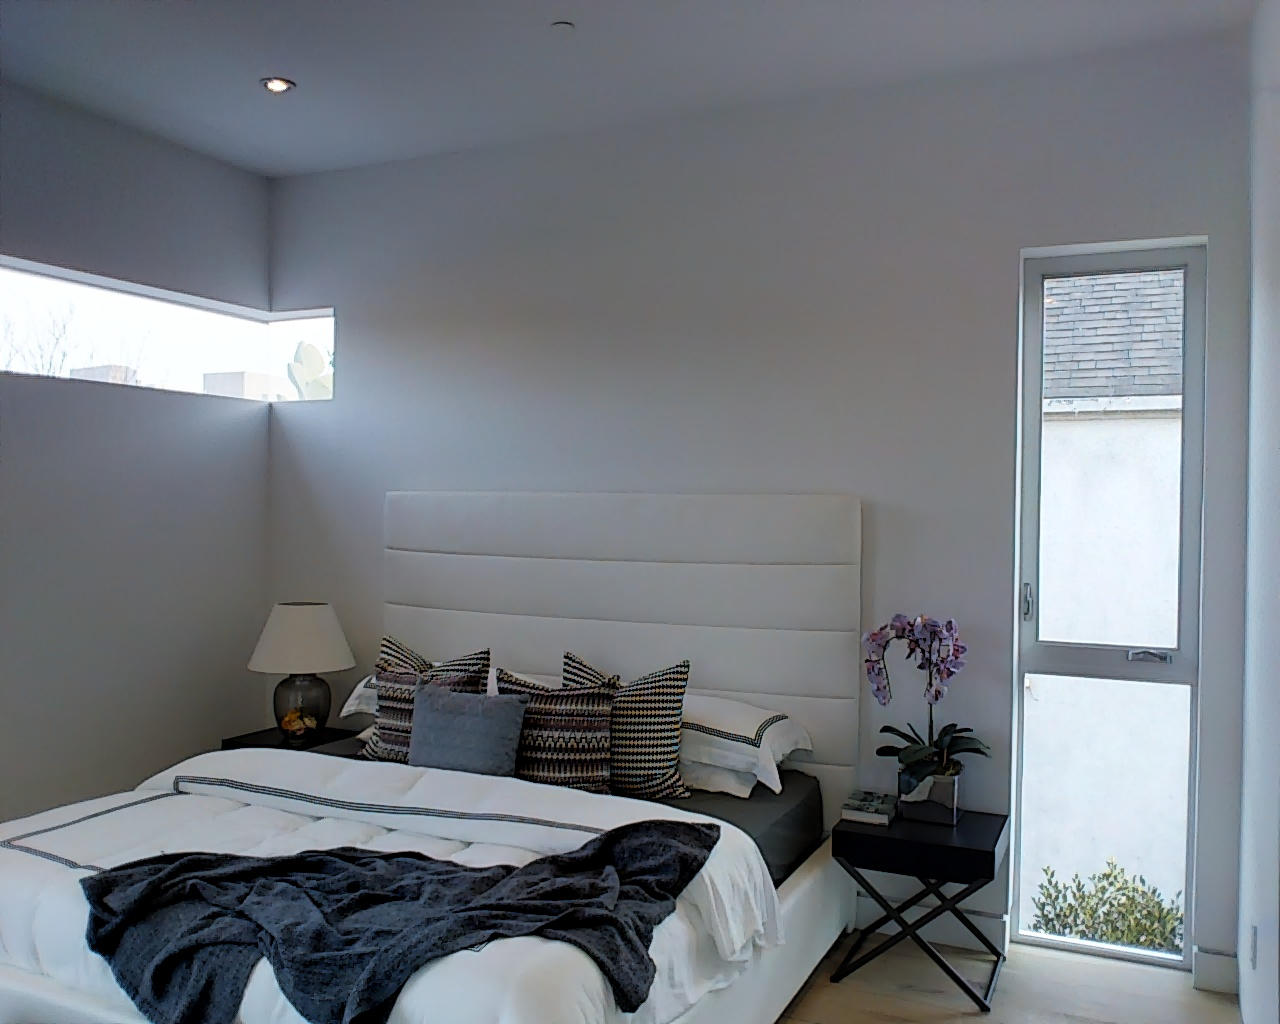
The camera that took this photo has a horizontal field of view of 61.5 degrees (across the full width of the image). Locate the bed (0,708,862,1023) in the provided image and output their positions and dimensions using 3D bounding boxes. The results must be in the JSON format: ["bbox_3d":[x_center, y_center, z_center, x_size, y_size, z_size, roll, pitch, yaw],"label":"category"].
[{"bbox_3d":[-0.640,1.211,3.350,2.129,0.600,2.270,1,1,25],"label":"bed"}]

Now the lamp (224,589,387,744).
[{"bbox_3d":[-1.469,0.660,4.750,0.480,0.580,0.490,1,1,25],"label":"lamp"}]
